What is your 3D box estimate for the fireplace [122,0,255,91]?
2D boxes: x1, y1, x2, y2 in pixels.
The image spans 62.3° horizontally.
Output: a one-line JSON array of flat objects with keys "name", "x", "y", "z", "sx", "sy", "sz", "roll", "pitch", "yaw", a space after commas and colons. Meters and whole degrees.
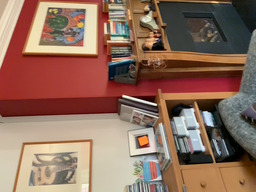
[{"name": "fireplace", "x": 0.670, "y": -0.770, "z": 2.470, "sx": 0.420, "sy": 1.350, "sz": 1.410, "roll": 98, "pitch": 168, "yaw": -55}]
